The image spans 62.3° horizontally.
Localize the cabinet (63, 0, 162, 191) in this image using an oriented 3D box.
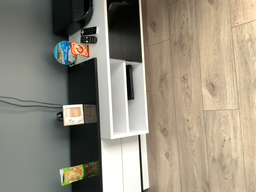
[{"bbox_3d":[-0.140,-0.120,1.510,0.500,0.400,1.630,-9,82,47],"label":"cabinet"}]
